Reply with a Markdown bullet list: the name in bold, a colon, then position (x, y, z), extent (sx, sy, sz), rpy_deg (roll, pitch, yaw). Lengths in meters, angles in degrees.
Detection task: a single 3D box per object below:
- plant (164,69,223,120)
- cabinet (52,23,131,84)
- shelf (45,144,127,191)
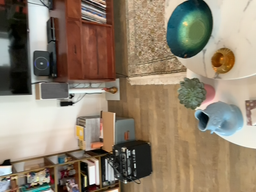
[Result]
- **plant**: position (0.340, -0.010, 1.120), extent (0.170, 0.160, 0.190), rpy_deg (58, 135, 34)
- **cabinet**: position (-0.400, -0.400, 2.310), extent (0.530, 0.680, 0.530), rpy_deg (2, 94, 54)
- **shelf**: position (-0.460, 0.840, 2.380), extent (0.400, 0.800, 0.380), rpy_deg (2, 94, 54)
